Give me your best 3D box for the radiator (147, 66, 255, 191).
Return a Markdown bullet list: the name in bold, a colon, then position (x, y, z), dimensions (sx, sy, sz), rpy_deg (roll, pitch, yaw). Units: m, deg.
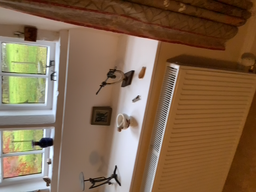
- **radiator**: position (0.440, 0.330, 1.230), dimensions (0.070, 0.660, 0.950), rpy_deg (33, 118, 56)
